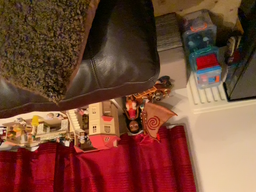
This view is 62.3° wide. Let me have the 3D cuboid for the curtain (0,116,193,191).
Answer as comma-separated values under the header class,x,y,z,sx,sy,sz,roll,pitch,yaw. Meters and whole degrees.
class,x,y,z,sx,sy,sz,roll,pitch,yaw
curtain,-0.560,1.190,1.540,2.170,1.810,0.100,-10,157,9
